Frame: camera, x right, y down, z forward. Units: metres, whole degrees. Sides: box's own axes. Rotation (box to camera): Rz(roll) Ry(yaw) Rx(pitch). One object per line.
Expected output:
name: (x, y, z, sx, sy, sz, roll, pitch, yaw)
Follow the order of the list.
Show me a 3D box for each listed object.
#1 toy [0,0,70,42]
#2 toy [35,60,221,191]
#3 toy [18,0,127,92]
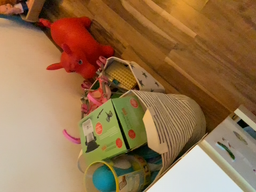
toy: (-0.880, -0.790, 1.620, 0.650, 0.500, 0.330, 49, 115, 20)
toy: (0.060, 0.170, 0.990, 0.390, 0.690, 0.460, 49, 115, 20)
toy: (-0.360, -0.330, 1.370, 0.510, 0.370, 0.330, 48, 115, 20)
